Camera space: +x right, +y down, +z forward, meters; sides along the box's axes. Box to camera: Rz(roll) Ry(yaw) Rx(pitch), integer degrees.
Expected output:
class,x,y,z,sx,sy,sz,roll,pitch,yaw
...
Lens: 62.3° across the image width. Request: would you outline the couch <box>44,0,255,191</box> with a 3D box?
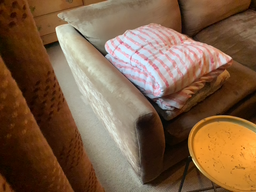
class,x,y,z,sx,sy,sz,roll,pitch,yaw
couch,1.030,-0.590,1.860,3.010,0.810,1.110,-24,47,-22
